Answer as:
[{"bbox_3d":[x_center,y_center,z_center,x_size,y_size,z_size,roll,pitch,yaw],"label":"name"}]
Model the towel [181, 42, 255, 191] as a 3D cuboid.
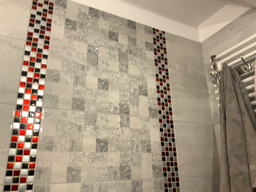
[{"bbox_3d":[0.500,0.220,1.090,0.260,0.940,0.240,9,-21,-27],"label":"towel"}]
